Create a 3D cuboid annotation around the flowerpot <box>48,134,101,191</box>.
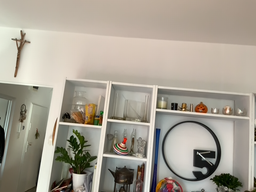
[{"bbox_3d":[-0.480,0.650,2.000,0.320,0.550,0.420,5,-9,4],"label":"flowerpot"}]
